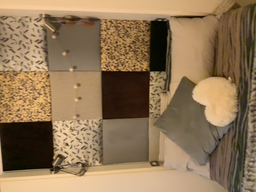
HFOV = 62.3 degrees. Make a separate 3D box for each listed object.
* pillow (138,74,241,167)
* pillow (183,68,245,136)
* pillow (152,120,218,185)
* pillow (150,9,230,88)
[{"bbox_3d":[0.510,0.220,1.800,0.620,0.560,0.280,-23,8,26],"label":"pillow"},{"bbox_3d":[0.660,0.040,1.610,0.400,0.310,0.170,-44,5,-35],"label":"pillow"},{"bbox_3d":[0.520,0.520,2.000,0.240,0.420,0.430,-137,68,-80],"label":"pillow"},{"bbox_3d":[0.520,-0.390,1.820,0.480,0.410,0.190,-45,9,2],"label":"pillow"}]
